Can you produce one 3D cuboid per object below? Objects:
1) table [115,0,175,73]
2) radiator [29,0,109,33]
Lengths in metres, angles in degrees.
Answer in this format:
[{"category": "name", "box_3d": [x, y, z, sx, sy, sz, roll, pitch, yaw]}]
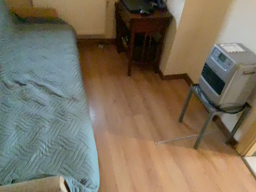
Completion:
[{"category": "table", "box_3d": [0.140, -0.770, 2.520, 0.430, 0.660, 0.740, -4, 43, -13]}, {"category": "radiator", "box_3d": [-0.660, -1.040, 2.460, 0.860, 0.610, 0.110, -4, 43, -13]}]
